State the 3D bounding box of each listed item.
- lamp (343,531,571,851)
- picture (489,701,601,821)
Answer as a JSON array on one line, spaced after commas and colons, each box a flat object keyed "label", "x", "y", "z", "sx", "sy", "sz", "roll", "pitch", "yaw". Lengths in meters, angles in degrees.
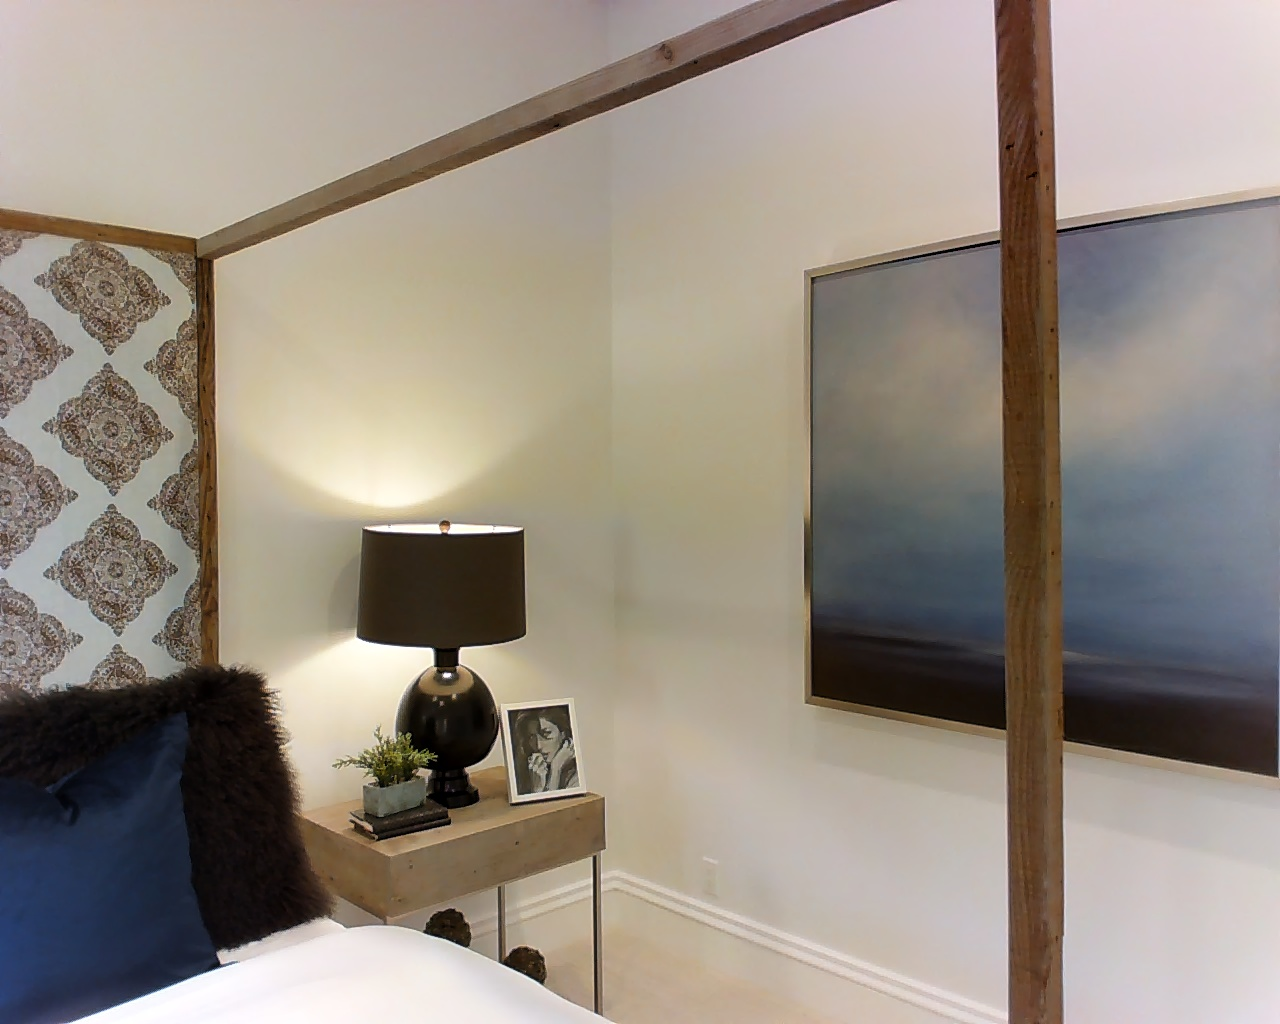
[{"label": "lamp", "x": -0.530, "y": 0.470, "z": 3.100, "sx": 0.440, "sy": 0.810, "sz": 0.470, "roll": -2, "pitch": 1, "yaw": -43}, {"label": "picture", "x": -0.280, "y": 0.730, "z": 3.160, "sx": 0.270, "sy": 0.290, "sz": 0.070, "roll": -8, "pitch": -11, "yaw": -21}]
